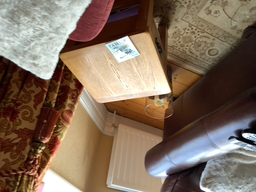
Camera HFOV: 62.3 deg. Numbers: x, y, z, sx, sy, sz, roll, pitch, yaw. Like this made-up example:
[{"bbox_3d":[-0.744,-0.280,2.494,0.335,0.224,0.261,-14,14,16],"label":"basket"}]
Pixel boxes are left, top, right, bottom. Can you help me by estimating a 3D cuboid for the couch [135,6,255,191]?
[{"bbox_3d":[0.770,0.300,1.400,1.060,0.860,1.050,18,142,-16],"label":"couch"}]
